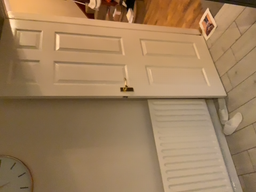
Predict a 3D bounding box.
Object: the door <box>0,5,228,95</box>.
[{"bbox_3d":[-0.060,-0.410,1.970,0.040,1.990,0.880,117,148,-57],"label":"door"}]
